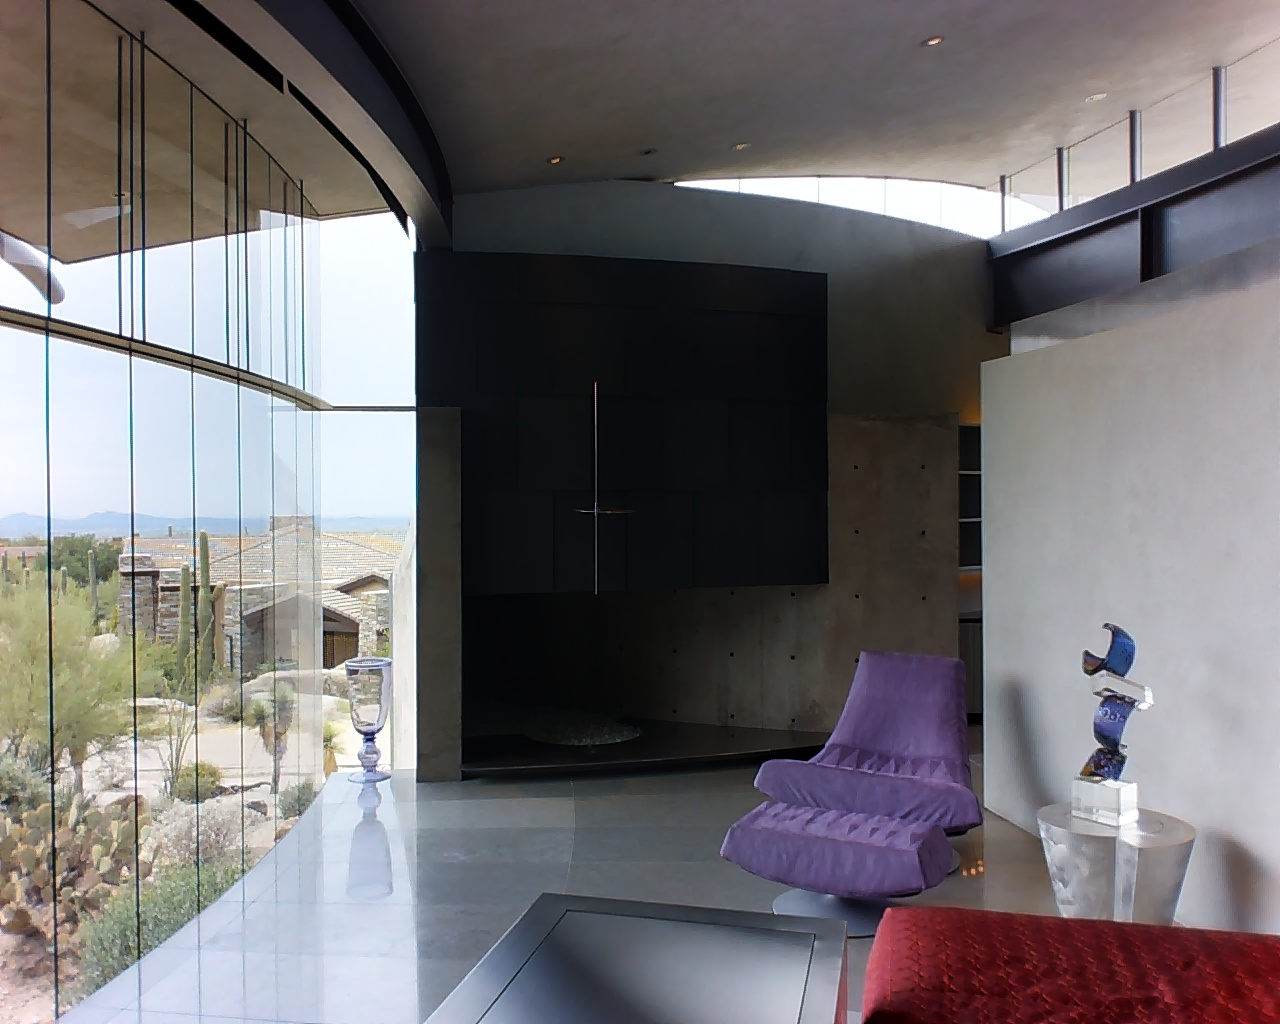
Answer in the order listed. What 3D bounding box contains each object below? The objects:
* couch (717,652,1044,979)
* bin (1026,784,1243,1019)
[{"bbox_3d":[1.090,1.150,4.540,0.950,0.730,1.600,3,5,28],"label":"couch"},{"bbox_3d":[1.690,1.300,3.670,0.460,0.520,0.510,-4,6,-41],"label":"bin"}]
